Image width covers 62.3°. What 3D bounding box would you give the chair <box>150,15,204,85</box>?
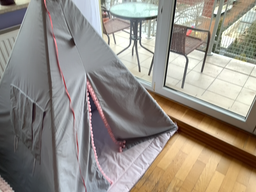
[{"bbox_3d":[0.520,-0.500,2.290,0.380,0.560,0.410,20,42,23],"label":"chair"}]
